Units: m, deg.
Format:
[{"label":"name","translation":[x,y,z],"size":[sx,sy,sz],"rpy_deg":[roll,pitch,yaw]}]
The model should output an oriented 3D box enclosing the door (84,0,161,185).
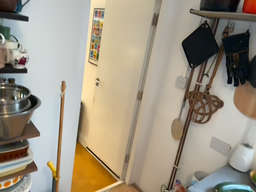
[{"label":"door","translation":[-0.150,-0.100,2.370],"size":[0.040,2.050,0.820],"rpy_deg":[-7,24,-43]}]
